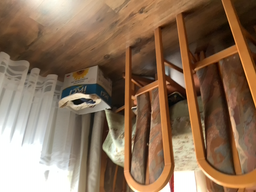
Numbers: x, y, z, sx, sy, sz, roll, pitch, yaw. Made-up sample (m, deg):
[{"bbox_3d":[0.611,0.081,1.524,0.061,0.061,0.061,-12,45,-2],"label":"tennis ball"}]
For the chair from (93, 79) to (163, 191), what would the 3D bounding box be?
[{"bbox_3d":[0.000,0.420,2.050,0.490,1.000,0.360,-23,144,36],"label":"chair"}]

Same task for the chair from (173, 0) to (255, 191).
[{"bbox_3d":[0.580,-0.040,1.160,0.370,1.030,0.490,-23,143,37],"label":"chair"}]
